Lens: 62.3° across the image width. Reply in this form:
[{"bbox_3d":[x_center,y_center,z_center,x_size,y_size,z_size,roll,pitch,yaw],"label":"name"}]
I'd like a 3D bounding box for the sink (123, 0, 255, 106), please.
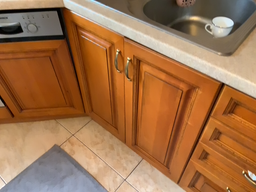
[{"bbox_3d":[0.300,-0.280,0.870,0.390,0.220,0.520,33,56,26],"label":"sink"}]
